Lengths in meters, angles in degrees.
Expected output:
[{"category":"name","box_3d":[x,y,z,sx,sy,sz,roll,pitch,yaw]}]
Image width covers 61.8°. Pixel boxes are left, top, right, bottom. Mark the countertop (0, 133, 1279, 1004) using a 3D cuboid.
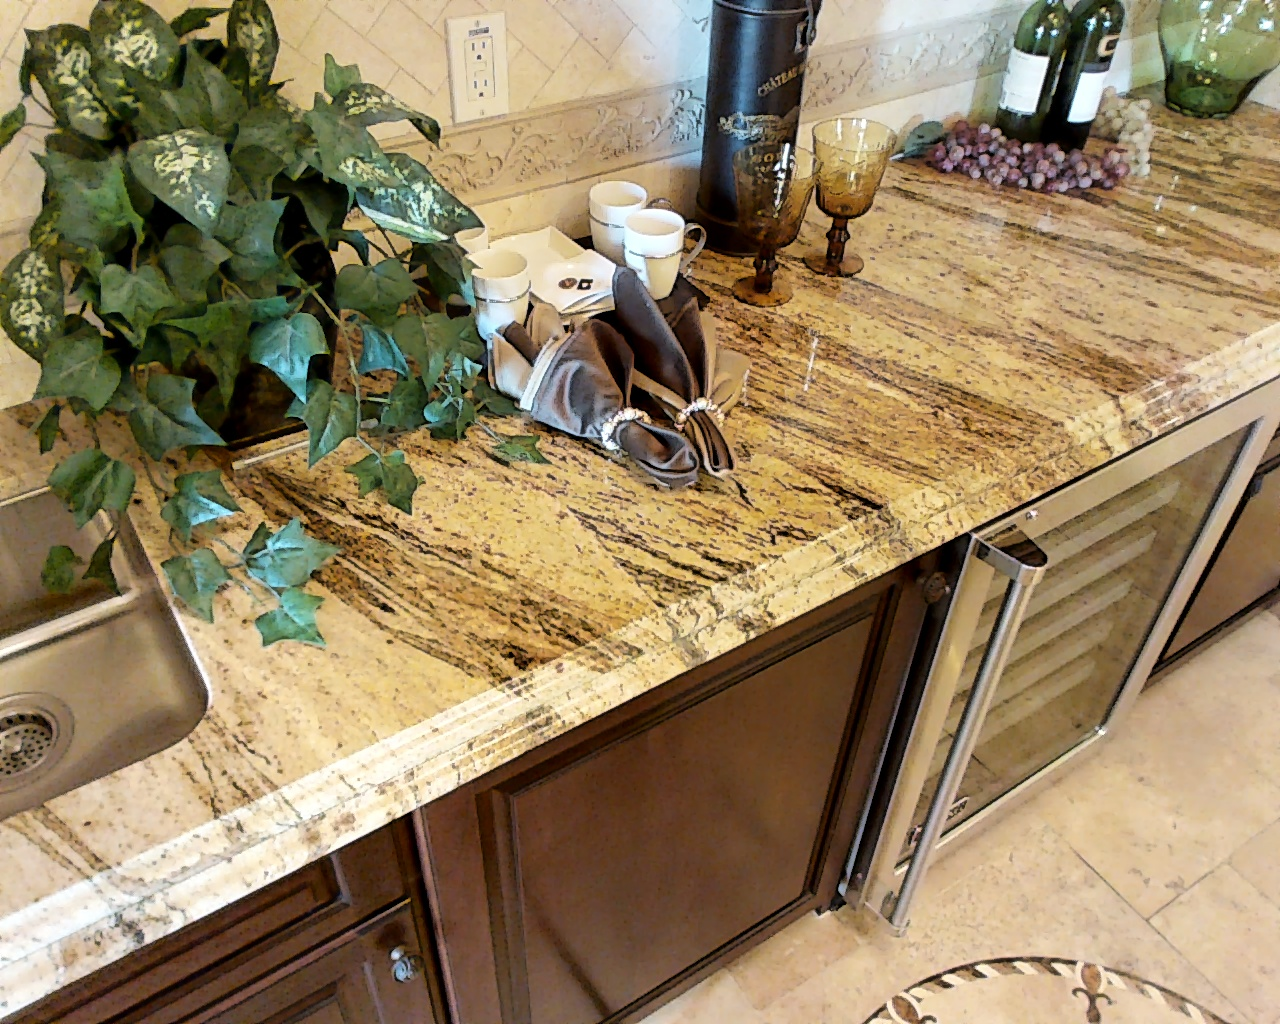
[{"category":"countertop","box_3d":[0.250,-0.120,1.180,2.421,0.050,0.370,-23,47,-25]}]
